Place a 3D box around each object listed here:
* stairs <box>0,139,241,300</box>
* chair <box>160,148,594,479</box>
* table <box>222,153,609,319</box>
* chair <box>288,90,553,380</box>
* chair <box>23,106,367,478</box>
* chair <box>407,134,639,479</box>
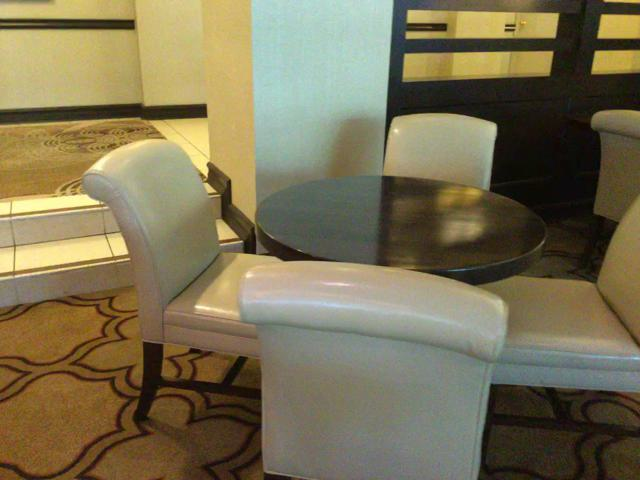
[{"bbox_3d":[-1.390,-0.170,3.170,1.580,0.420,1.150,-10,24,-26],"label":"stairs"},{"bbox_3d":[0.140,0.330,1.470,0.680,0.930,0.860,4,22,9],"label":"chair"},{"bbox_3d":[0.240,-0.090,1.860,0.850,0.120,0.900,-10,24,-26],"label":"table"},{"bbox_3d":[0.460,-0.120,2.530,0.860,0.910,0.910,10,23,23],"label":"chair"},{"bbox_3d":[-0.300,0.090,1.990,0.810,0.940,0.840,4,22,9],"label":"chair"},{"bbox_3d":[0.820,0.200,1.880,0.860,0.920,0.860,-1,21,-3],"label":"chair"}]
